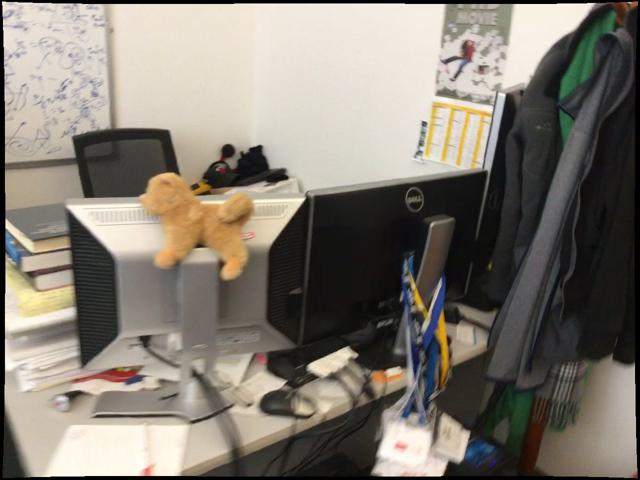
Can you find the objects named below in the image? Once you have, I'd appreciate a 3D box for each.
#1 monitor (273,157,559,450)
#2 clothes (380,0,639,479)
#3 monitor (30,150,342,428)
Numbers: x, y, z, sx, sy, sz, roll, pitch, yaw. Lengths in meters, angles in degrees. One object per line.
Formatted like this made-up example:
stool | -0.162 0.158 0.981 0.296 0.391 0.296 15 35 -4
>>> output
monitor | 0.220 0.110 1.360 0.580 0.520 0.250 -10 27 -34
clothes | 0.589 0.110 1.530 0.400 1.631 0.530 -10 27 -34
monitor | -0.260 0.080 1.160 0.510 0.460 0.240 -2 23 -18
